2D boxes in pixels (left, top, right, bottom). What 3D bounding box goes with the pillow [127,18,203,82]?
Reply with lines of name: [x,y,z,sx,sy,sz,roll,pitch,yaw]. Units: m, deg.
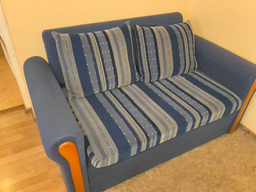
pillow: [0.300,-0.390,1.730,0.580,0.410,0.190,-14,28,-25]

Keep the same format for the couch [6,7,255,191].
couch: [0.110,-0.070,1.580,1.550,0.770,0.920,-17,41,-24]

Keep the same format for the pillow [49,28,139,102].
pillow: [-0.210,-0.240,1.480,0.560,0.390,0.200,-15,28,-26]
